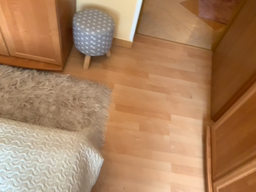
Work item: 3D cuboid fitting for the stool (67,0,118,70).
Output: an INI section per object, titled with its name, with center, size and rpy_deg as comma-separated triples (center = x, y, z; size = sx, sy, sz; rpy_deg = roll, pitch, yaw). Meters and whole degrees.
[stool]
center = -0.280, -0.480, 1.700
size = 0.310, 0.370, 0.320
rpy_deg = 12, 52, -5
